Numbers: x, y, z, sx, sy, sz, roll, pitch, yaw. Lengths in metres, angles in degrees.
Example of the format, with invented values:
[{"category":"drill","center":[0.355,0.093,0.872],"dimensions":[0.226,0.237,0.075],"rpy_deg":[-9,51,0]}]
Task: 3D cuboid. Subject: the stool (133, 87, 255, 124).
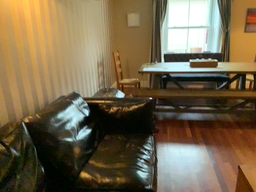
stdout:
[{"category":"stool","center":[1.310,0.140,3.560],"dimensions":[2.410,0.450,0.470],"rpy_deg":[1,18,8]}]
